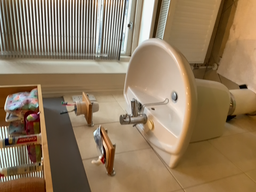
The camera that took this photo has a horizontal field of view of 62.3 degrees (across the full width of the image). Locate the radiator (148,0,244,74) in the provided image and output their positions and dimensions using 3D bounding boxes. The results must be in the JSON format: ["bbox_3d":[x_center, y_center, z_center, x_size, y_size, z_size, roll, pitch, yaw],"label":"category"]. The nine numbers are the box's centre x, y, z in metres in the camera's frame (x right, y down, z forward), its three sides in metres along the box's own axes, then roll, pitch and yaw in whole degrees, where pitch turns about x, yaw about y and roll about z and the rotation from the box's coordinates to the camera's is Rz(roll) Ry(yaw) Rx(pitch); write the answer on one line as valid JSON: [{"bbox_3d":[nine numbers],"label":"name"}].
[{"bbox_3d":[0.470,-0.560,1.370,0.160,0.520,0.830,-130,43,-53],"label":"radiator"}]

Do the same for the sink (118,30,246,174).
[{"bbox_3d":[0.180,-0.030,1.080,0.630,0.200,0.470,-131,44,-54],"label":"sink"}]
